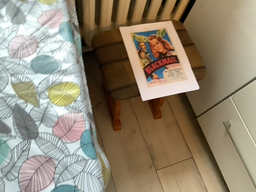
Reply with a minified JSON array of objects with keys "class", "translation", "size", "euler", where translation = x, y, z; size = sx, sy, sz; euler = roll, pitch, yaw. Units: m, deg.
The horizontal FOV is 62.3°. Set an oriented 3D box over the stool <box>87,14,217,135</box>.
[{"class":"stool","translation":[0.050,-0.070,0.960],"size":[0.400,0.450,0.300],"euler":[-13,70,-16]}]
